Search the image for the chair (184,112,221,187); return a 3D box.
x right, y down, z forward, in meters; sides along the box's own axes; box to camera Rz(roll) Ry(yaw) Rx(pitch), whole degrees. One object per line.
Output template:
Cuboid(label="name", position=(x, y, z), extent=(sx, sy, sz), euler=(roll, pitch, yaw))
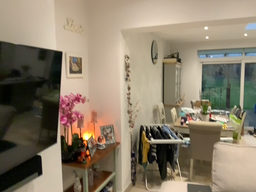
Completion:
Cuboid(label="chair", position=(1.150, 0.770, 3.230), extent=(0.450, 0.930, 0.530), euler=(3, 7, 25))

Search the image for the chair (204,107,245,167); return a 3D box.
Cuboid(label="chair", position=(1.710, 0.700, 3.830), extent=(0.590, 0.930, 0.490), euler=(2, 7, 19))

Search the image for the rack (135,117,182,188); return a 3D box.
Cuboid(label="rack", position=(0.430, 0.830, 3.430), extent=(0.610, 0.750, 1.140), euler=(0, 6, 1))

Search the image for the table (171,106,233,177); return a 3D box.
Cuboid(label="table", position=(1.470, 0.740, 4.170), extent=(0.920, 0.790, 1.760), euler=(2, 7, 22))
